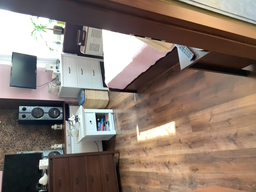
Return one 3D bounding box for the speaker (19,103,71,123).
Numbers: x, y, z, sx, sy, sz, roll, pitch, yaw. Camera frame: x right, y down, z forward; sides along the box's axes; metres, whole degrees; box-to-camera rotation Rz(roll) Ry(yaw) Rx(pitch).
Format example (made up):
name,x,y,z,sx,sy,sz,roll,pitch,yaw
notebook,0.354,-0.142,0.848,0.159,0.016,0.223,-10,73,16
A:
name,x,y,z,sx,sy,sz,roll,pitch,yaw
speaker,-1.680,0.360,4.310,0.430,0.930,0.300,-37,55,57
